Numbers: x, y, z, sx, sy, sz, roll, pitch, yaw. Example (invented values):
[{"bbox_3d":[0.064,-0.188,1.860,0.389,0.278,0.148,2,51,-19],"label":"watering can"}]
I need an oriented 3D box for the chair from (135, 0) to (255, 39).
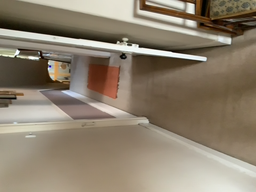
[{"bbox_3d":[0.560,-0.620,1.250,0.480,0.900,0.360,12,99,60],"label":"chair"}]
